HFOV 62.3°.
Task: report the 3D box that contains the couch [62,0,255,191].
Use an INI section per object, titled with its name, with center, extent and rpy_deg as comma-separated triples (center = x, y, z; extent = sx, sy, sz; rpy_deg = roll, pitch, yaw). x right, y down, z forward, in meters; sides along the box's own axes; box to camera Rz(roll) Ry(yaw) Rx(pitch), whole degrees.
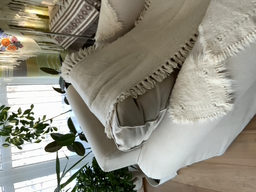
[couch]
center = 0.250, -0.200, 1.050
extent = 0.820, 0.800, 0.980
rpy_deg = 53, 134, 40
